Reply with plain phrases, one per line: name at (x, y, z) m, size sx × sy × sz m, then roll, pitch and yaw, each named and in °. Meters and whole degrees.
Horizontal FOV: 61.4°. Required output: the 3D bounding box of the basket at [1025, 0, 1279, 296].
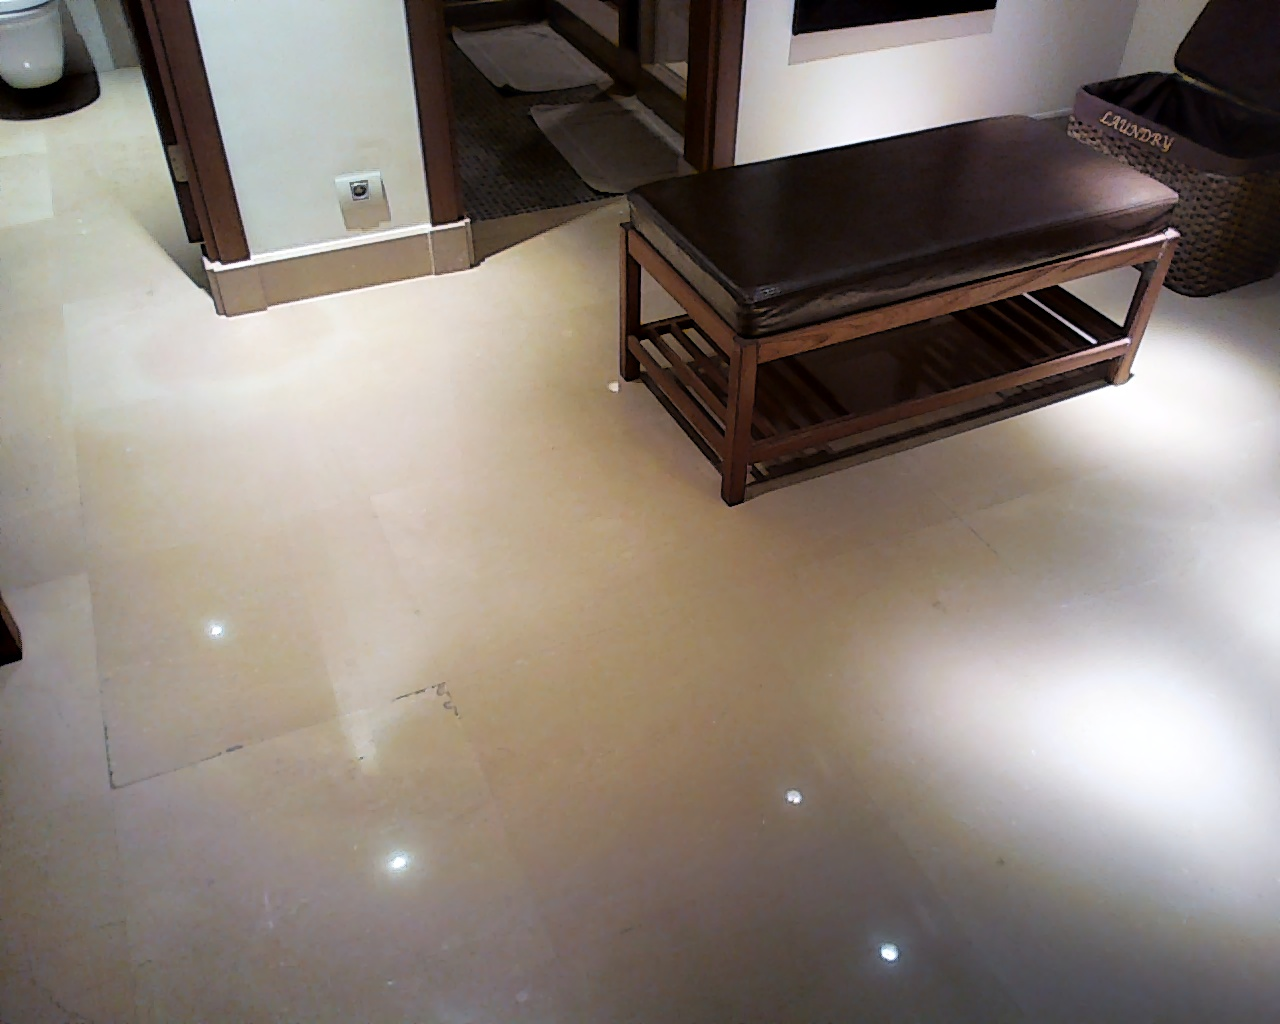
basket at (1.750, -1.240, 3.270) m, size 0.630 × 0.800 × 0.710 m, roll -16°, pitch 45°, yaw -18°

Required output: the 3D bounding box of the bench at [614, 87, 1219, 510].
bench at (0.640, -0.580, 2.700) m, size 1.260 × 0.560 × 0.630 m, roll -17°, pitch 45°, yaw -19°
